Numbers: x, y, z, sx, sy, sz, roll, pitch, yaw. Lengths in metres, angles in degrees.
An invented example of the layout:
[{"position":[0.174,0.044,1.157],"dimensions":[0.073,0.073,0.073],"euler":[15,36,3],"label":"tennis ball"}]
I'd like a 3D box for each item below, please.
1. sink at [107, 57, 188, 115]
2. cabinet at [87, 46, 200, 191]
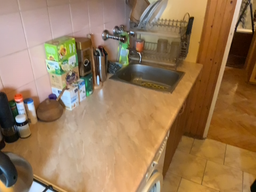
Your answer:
[{"position":[0.150,-0.100,1.530],"dimensions":[0.450,0.160,0.420],"euler":[15,33,21],"label":"sink"},{"position":[0.170,0.150,1.780],"dimensions":[0.530,0.840,0.920],"euler":[15,33,21],"label":"cabinet"}]
